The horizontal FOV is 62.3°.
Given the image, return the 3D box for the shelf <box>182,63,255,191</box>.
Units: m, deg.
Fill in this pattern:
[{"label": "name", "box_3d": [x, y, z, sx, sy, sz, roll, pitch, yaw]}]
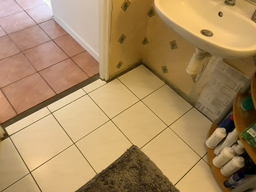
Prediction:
[{"label": "shelf", "box_3d": [0.670, 0.180, 1.140, 0.390, 0.750, 0.370, -32, 62, -28]}]
